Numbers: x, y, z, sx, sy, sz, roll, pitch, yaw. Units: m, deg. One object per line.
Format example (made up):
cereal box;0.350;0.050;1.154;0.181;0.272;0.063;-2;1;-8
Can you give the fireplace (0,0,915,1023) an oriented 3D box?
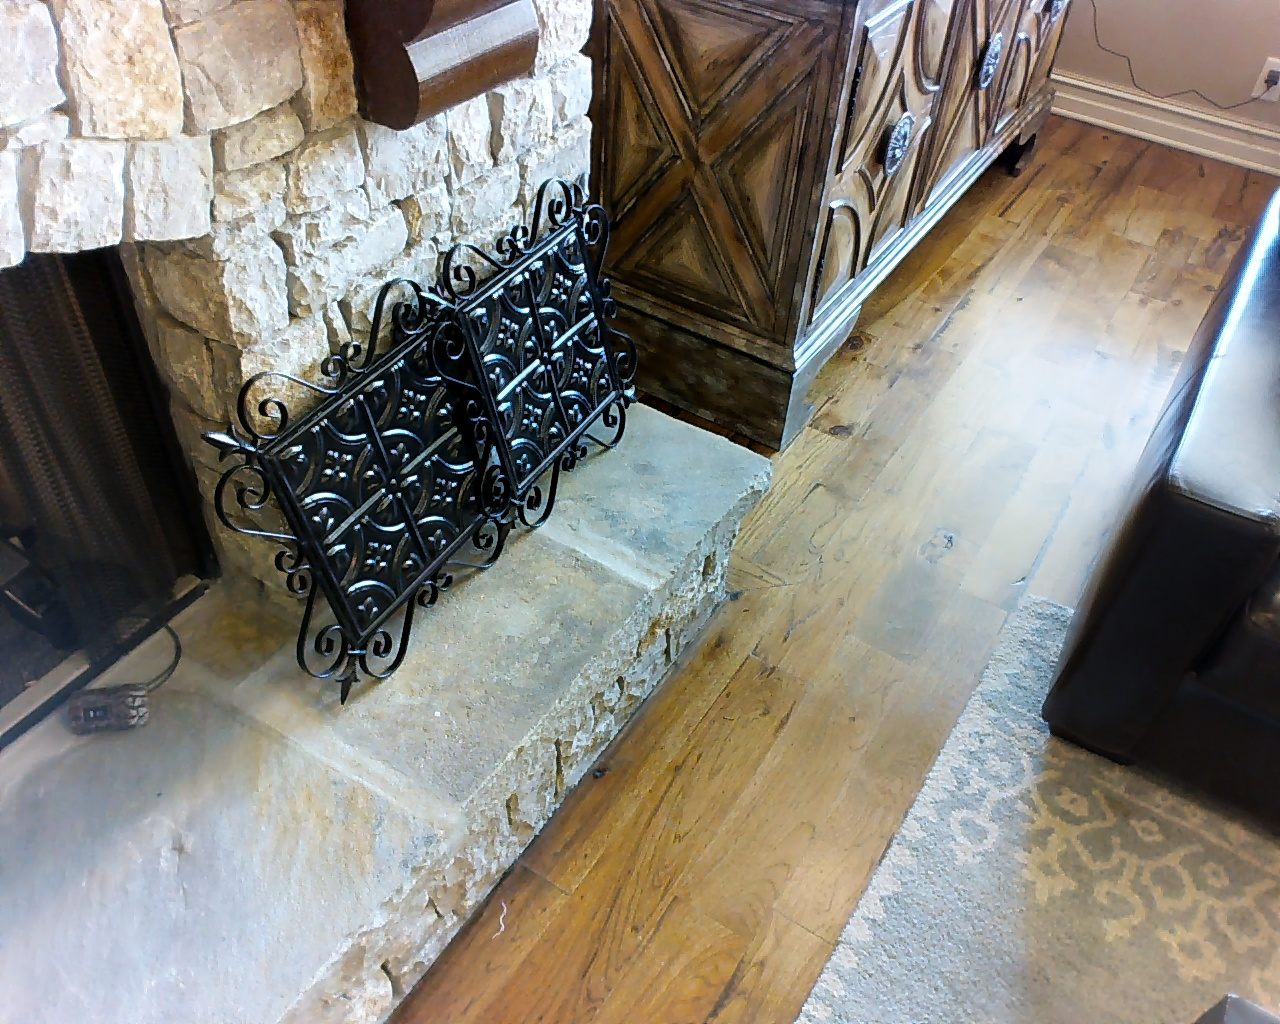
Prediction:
fireplace;-0.730;0.110;0.830;0.820;1.610;2.710;25;48;21
